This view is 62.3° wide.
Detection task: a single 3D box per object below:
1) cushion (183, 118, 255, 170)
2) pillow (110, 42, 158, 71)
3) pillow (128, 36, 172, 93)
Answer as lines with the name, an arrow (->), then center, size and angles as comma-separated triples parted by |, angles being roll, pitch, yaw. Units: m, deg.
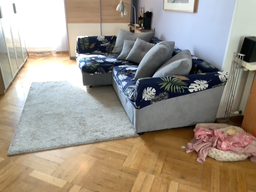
cushion -> 1.000, 0.460, 2.190 | 0.670, 0.170, 0.490 | -6, 26, -15
pillow -> 0.110, -0.680, 3.570 | 0.710, 0.320, 0.530 | 6, 26, 9
pillow -> 0.330, -0.440, 2.860 | 0.360, 0.530, 0.680 | 3, 30, 23
